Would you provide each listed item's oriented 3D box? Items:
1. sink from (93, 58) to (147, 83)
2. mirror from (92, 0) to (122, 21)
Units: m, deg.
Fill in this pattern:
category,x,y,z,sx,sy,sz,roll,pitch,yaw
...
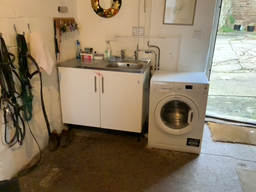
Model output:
category,x,y,z,sx,sy,sz,roll,pitch,yaw
sink,-0.080,-0.330,2.600,0.540,0.150,0.510,6,22,11
mirror,-0.260,-1.170,2.630,0.380,0.440,0.030,6,22,13
